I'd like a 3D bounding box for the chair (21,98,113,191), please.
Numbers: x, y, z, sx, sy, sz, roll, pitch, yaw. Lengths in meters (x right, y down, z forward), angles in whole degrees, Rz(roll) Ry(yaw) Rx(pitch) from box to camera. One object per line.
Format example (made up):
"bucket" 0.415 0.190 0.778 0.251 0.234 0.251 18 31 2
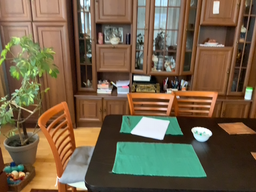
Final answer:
"chair" -0.380 0.510 1.570 0.490 0.890 0.430 2 18 2

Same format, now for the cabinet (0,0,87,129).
"cabinet" -1.210 -0.620 3.110 1.030 2.120 0.560 2 18 1

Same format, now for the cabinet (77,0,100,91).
"cabinet" -0.570 -0.890 3.130 0.230 1.590 0.330 2 18 1

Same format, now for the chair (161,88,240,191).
"chair" 0.600 0.420 1.960 0.460 0.860 0.520 1 18 0

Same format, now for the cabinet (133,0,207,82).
"cabinet" 0.550 -0.930 3.030 0.910 1.360 0.430 2 18 1
